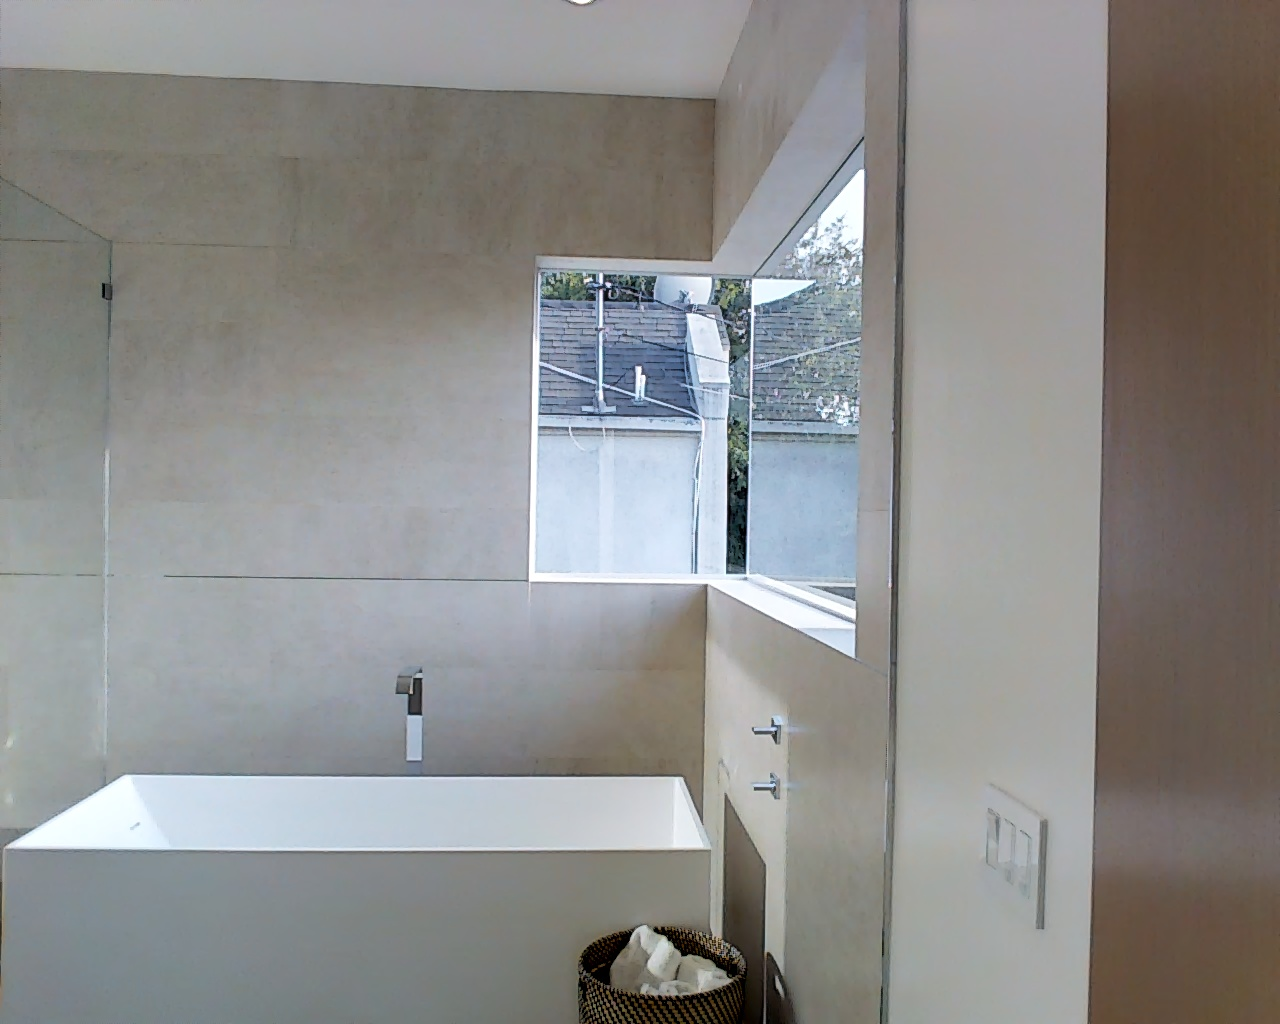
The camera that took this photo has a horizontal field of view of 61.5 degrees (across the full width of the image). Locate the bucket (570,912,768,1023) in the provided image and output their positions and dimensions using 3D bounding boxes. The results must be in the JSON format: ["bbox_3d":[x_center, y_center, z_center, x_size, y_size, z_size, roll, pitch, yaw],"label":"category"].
[{"bbox_3d":[0.050,1.211,2.490,0.420,0.420,0.390,1,0,-3],"label":"bucket"}]

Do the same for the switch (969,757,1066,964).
[{"bbox_3d":[0.430,0.390,1.240,0.010,0.160,0.240,1,0,-4],"label":"switch"}]
